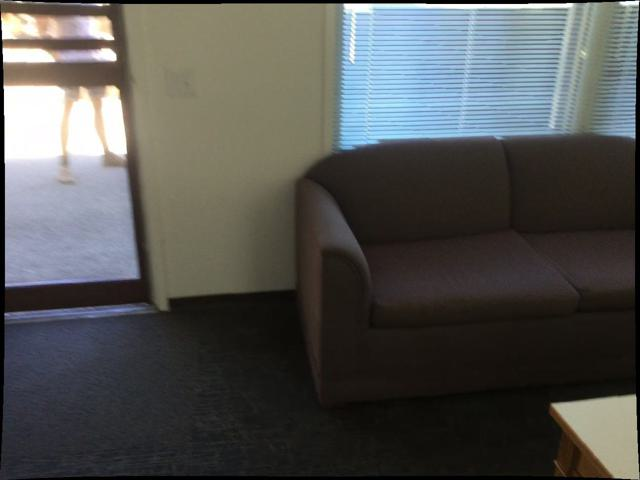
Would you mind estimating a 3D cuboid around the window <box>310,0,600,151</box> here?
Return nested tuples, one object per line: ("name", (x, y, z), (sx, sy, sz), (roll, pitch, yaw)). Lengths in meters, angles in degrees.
("window", (0.549, -1.102, 2.330), (1.158, 1.412, 0.240), (-3, 23, -8))

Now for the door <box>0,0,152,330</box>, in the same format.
("door", (-1.188, -0.561, 2.290), (0.769, 1.943, 0.240), (-3, 23, -8))

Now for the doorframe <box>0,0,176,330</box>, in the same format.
("doorframe", (-1.158, -0.591, 2.280), (0.938, 2.013, 0.230), (-3, 23, -8))
